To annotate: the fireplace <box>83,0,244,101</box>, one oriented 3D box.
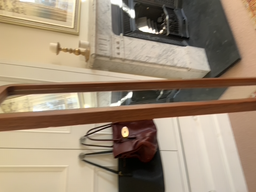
[{"bbox_3d":[0.220,-0.980,2.290,0.760,1.220,1.810,127,145,-57],"label":"fireplace"}]
